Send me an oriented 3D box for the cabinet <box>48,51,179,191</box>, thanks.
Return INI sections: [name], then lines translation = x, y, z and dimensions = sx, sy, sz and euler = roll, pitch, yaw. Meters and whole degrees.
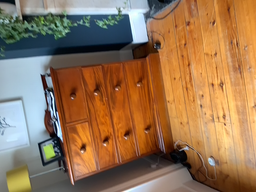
[cabinet]
translation = -0.140, 0.160, 2.030
dimensions = 0.500, 0.980, 1.000
euler = -6, 95, 66
